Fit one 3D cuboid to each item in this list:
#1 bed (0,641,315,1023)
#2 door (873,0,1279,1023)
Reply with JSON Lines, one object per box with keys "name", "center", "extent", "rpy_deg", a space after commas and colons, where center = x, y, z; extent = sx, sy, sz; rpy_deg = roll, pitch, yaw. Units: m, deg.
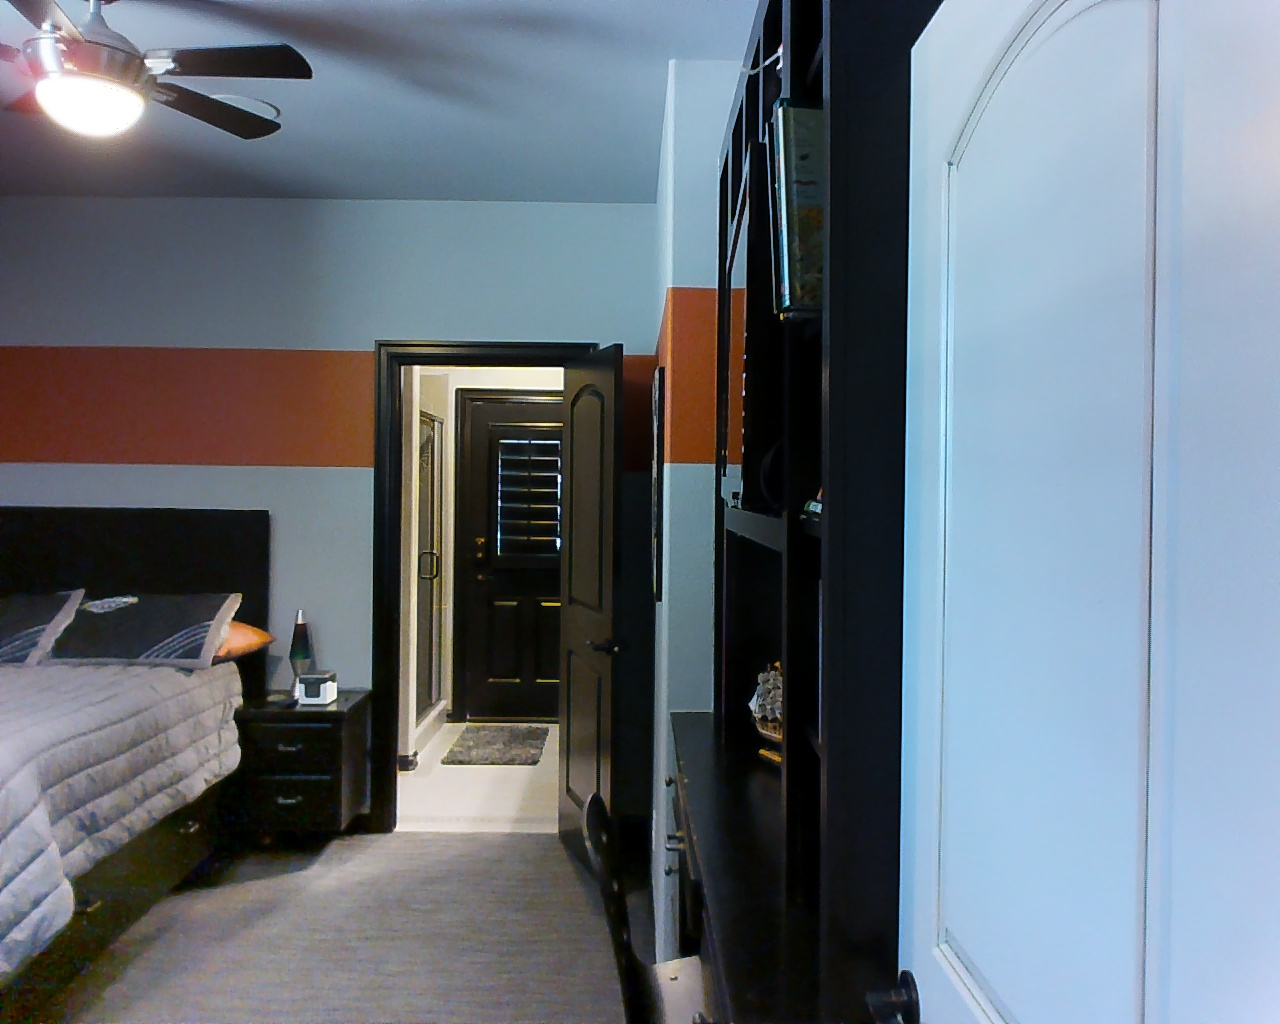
{"name": "bed", "center": [-2.240, 0.970, 3.510], "extent": [1.680, 0.810, 2.220], "rpy_deg": [1, 0, -1]}
{"name": "door", "center": [0.320, 0.440, 0.900], "extent": [0.050, 2.080, 0.780], "rpy_deg": [1, 0, -2]}
